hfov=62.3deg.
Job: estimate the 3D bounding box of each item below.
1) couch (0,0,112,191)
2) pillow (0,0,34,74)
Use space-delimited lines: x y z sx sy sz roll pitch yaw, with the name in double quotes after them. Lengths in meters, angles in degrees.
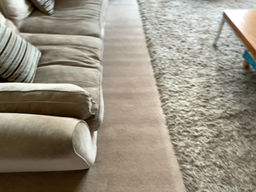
-0.710 -0.560 1.720 1.070 0.840 2.320 0 48 -2 "couch"
-0.710 -0.320 1.260 0.130 0.360 0.400 -3 4 -4 "pillow"
